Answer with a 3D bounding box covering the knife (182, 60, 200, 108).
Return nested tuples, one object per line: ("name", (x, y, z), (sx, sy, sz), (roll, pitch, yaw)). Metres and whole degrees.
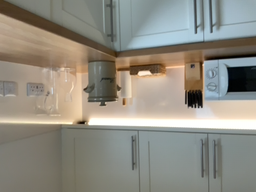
("knife", (0.460, -0.080, 1.540), (0.110, 0.330, 0.130), (-1, -179, 19))
